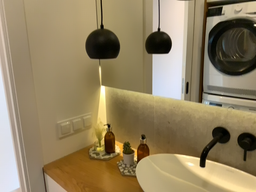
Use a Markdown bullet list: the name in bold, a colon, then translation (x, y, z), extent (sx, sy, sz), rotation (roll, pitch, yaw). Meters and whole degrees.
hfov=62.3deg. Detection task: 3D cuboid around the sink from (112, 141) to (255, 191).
- **sink**: translation (0.300, 0.370, 0.750), extent (0.650, 0.110, 0.370), rotation (12, 19, 43)
